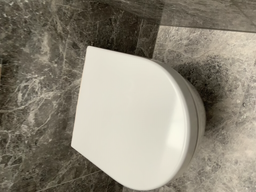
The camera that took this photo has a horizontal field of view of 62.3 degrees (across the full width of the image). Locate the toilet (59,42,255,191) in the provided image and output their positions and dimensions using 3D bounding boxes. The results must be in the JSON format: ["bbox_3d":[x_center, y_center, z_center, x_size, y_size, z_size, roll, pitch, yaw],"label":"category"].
[{"bbox_3d":[0.100,0.060,0.780,0.490,0.450,0.380,20,104,40],"label":"toilet"}]
